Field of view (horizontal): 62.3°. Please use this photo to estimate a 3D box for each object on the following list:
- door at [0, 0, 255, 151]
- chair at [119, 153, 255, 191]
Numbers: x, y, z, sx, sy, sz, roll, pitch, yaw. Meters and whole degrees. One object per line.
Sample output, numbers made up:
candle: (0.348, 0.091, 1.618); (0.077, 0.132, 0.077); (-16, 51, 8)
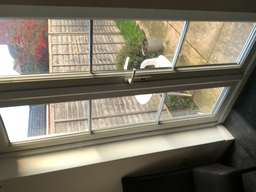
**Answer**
door: (0.100, -0.110, 1.600); (0.030, 2.060, 1.080); (-115, 26, -48)
chair: (0.560, 0.860, 1.810); (0.710, 1.080, 0.470); (153, 110, -72)
